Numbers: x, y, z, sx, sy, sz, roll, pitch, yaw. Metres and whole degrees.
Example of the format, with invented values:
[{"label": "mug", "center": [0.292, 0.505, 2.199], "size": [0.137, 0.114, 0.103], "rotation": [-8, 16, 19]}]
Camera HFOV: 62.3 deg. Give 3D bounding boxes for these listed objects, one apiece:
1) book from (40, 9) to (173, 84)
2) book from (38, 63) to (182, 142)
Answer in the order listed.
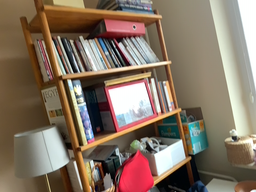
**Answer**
[{"label": "book", "center": [-0.110, -0.290, 1.340], "size": [0.680, 0.280, 0.420], "rotation": [-14, 3, -43]}, {"label": "book", "center": [-0.070, 0.010, 1.340], "size": [0.800, 0.290, 0.380], "rotation": [-14, 3, -42]}]
